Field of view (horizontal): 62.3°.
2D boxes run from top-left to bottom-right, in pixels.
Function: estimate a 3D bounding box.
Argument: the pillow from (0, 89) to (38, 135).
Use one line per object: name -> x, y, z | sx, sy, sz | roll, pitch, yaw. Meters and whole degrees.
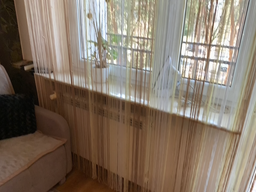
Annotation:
pillow -> -0.920, 0.120, 1.720 | 0.150, 0.300, 0.300 | 18, 15, 31
